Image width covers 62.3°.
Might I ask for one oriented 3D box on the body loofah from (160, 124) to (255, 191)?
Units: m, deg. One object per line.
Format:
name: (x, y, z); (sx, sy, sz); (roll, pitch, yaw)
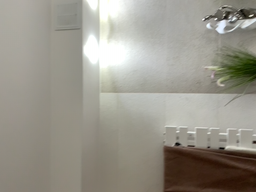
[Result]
body loofah: (0.700, 0.440, 1.230); (0.150, 1.010, 0.490); (-14, -75, -78)
